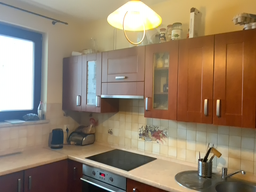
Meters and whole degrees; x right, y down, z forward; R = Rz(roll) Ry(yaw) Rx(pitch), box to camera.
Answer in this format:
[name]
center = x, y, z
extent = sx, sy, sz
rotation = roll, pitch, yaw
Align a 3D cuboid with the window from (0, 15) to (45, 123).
[window]
center = -1.740, -0.310, 2.250
extent = 0.290, 1.210, 1.650
rotation = 2, 1, 38
